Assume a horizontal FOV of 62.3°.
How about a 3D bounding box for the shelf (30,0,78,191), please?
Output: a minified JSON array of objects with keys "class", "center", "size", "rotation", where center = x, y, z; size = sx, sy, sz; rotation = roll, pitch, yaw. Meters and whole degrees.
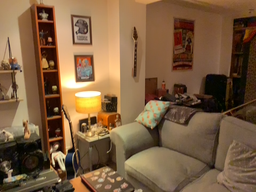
[{"class":"shelf","center":[-0.810,0.040,2.390],"size":[0.310,2.030,0.260],"rotation":[-8,13,-37]}]
